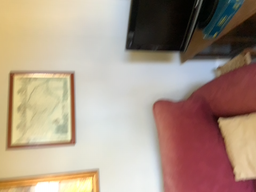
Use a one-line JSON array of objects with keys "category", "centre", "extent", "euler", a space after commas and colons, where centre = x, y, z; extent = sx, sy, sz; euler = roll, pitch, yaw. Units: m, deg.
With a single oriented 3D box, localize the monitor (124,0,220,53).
[{"category": "monitor", "centre": [0.280, -0.560, 1.210], "extent": [0.050, 0.530, 0.660], "euler": [-108, 22, -47]}]
